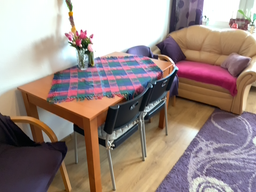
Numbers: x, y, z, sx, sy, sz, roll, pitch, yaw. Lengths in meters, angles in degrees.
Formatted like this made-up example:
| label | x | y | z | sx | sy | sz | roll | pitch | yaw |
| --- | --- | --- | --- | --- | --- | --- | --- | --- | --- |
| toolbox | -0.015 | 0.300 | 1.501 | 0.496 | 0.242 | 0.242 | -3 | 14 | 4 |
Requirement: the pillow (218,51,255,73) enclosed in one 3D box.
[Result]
| label | x | y | z | sx | sy | sz | roll | pitch | yaw |
| --- | --- | --- | --- | --- | --- | --- | --- | --- | --- |
| pillow | 1.370 | -0.440 | 2.680 | 0.190 | 0.210 | 0.420 | 8 | 13 | -10 |

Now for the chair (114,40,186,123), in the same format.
| label | x | y | z | sx | sy | sz | roll | pitch | yaw |
| --- | --- | --- | --- | --- | --- | --- | --- | --- | --- |
| chair | 0.250 | -0.210 | 2.580 | 0.590 | 0.740 | 0.580 | 22 | 34 | 35 |

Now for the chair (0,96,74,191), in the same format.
| label | x | y | z | sx | sy | sz | roll | pitch | yaw |
| --- | --- | --- | --- | --- | --- | --- | --- | --- | --- |
| chair | -0.770 | 0.470 | 1.300 | 0.590 | 0.700 | 0.630 | 5 | 28 | 8 |

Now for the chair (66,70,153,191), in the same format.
| label | x | y | z | sx | sy | sz | roll | pitch | yaw |
| --- | --- | --- | --- | --- | --- | --- | --- | --- | --- |
| chair | -0.130 | 0.250 | 1.700 | 0.460 | 0.750 | 0.420 | 19 | 33 | 33 |

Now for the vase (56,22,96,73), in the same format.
| label | x | y | z | sx | sy | sz | roll | pitch | yaw |
| --- | --- | --- | --- | --- | --- | --- | --- | --- | --- |
| vase | -0.430 | -0.420 | 1.810 | 0.160 | 0.360 | 0.260 | 20 | 33 | 32 |
